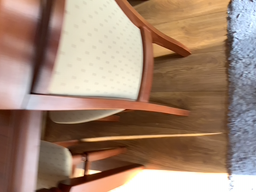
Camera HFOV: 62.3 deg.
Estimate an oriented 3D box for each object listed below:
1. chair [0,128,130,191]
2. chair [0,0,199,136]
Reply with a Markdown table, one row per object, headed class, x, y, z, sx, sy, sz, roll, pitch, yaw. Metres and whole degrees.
| class | x | y | z | sx | sy | sz | roll | pitch | yaw |
| --- | --- | --- | --- | --- | --- | --- | --- | --- | --- |
| chair | -0.450 | 0.470 | 0.930 | 0.420 | 0.930 | 0.560 | 6 | 88 | 33 |
| chair | -0.130 | -0.120 | 0.800 | 0.540 | 0.930 | 0.440 | -1 | 84 | 33 |
